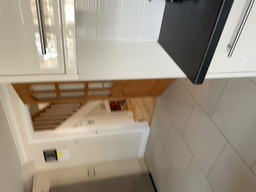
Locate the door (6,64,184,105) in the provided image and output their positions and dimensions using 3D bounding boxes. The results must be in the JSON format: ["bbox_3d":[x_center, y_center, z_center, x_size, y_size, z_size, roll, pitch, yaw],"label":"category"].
[{"bbox_3d":[-0.370,-0.150,2.840,0.760,2.070,0.130,121,143,-64],"label":"door"}]
